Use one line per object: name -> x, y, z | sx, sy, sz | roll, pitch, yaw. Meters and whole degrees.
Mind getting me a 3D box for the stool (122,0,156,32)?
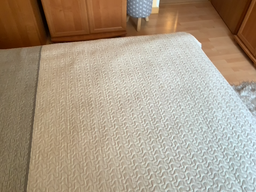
stool -> 0.110, -0.990, 2.390 | 0.300, 0.390, 0.300 | -8, 48, -10
